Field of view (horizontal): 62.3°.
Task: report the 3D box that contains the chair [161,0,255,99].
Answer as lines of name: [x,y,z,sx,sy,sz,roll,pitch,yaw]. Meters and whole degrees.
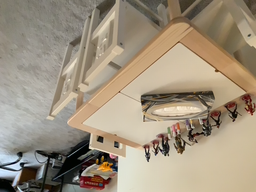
chair: [0.400,-0.320,1.030,0.260,0.520,0.330,24,137,-31]

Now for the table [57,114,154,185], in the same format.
table: [-0.300,0.660,2.360,0.440,0.300,1.180,26,134,-31]

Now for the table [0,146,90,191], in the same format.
table: [-1.390,1.450,3.000,0.840,0.720,1.740,26,134,-31]
